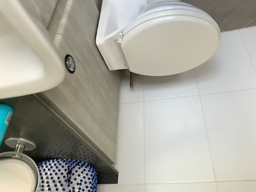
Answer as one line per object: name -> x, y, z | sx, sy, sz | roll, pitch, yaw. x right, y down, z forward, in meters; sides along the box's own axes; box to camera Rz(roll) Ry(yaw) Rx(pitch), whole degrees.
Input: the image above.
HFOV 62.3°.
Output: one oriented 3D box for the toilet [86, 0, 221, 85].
toilet -> 0.130, -0.380, 1.070 | 0.510, 0.450, 0.370 | -7, 145, 13
